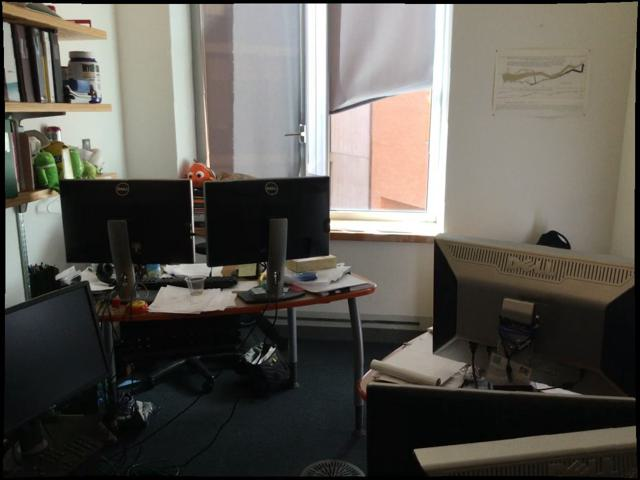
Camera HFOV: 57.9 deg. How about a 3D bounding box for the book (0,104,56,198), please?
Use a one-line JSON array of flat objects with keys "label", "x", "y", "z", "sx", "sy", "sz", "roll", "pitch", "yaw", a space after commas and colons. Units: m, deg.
[{"label": "book", "x": -1.219, "y": -0.330, "z": 2.130, "sx": 0.150, "sy": 0.320, "sz": 0.590, "roll": 3, "pitch": 14, "yaw": 5}]
